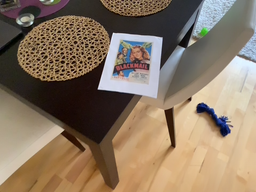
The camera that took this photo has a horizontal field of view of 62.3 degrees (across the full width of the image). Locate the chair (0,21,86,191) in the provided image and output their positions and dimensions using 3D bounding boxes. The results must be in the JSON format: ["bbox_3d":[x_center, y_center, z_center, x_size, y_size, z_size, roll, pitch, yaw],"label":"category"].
[{"bbox_3d":[-0.640,0.180,0.950,0.450,0.940,0.600,35,64,20],"label":"chair"}]
